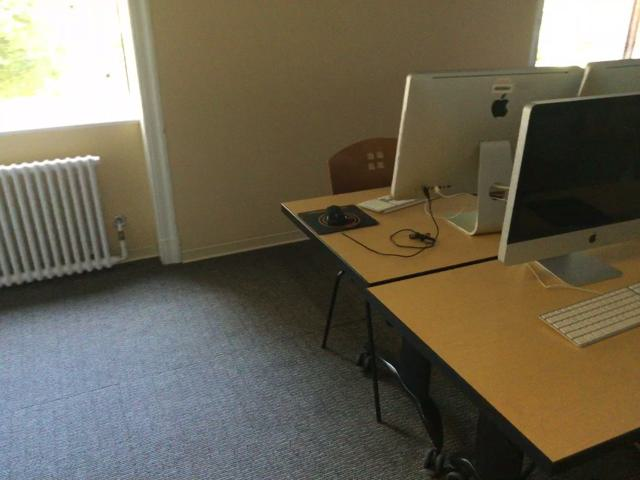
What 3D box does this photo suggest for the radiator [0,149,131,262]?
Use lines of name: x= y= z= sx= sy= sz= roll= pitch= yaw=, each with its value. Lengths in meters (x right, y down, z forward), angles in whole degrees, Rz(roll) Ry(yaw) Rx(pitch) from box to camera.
radiator: x=-1.200 y=-0.160 z=2.620 sx=0.590 sy=0.420 sz=0.100 roll=-11 pitch=28 yaw=-19
